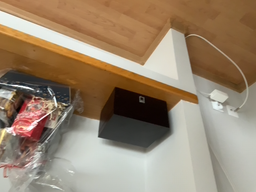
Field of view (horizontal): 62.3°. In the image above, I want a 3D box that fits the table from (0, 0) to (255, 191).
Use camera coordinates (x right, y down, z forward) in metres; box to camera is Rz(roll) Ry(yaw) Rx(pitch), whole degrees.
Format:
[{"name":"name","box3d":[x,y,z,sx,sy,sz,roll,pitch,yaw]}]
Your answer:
[{"name":"table","box3d":[-0.430,-0.110,0.790,2.090,1.130,0.350,18,138,-19]}]
